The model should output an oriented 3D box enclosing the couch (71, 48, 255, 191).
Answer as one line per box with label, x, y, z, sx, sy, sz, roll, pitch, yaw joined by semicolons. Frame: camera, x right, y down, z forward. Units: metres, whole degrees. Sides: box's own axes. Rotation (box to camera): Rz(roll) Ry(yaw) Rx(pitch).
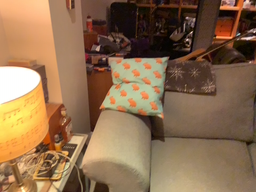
couch;0.810;0.310;1.350;1.970;0.910;0.980;3;27;5
